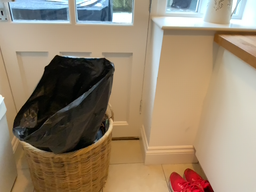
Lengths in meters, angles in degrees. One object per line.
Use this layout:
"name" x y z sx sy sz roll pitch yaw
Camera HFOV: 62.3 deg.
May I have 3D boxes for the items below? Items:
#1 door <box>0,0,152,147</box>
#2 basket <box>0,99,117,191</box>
"door" -0.270 -0.440 1.180 0.770 1.820 0.150 2 31 -3
"basket" -0.330 0.320 1.240 0.500 0.410 0.430 3 31 -1
